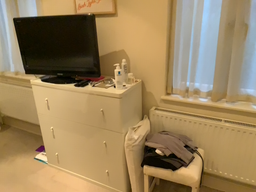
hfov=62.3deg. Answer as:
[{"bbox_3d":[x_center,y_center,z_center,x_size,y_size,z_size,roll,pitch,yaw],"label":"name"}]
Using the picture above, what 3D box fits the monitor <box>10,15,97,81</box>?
[{"bbox_3d":[-0.660,-0.420,1.890,0.770,0.540,0.040,4,21,15],"label":"monitor"}]
